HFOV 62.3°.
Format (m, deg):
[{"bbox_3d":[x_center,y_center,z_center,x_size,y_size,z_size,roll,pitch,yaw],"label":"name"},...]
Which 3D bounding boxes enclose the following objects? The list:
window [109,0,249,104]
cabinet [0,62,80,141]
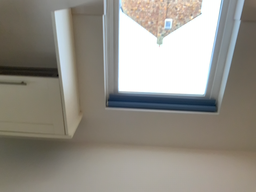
[{"bbox_3d":[0.330,-0.510,1.550,0.920,1.150,0.190,1,-155,-1],"label":"window"},{"bbox_3d":[-0.690,0.030,1.460,0.630,0.450,0.280,2,-155,1],"label":"cabinet"}]
